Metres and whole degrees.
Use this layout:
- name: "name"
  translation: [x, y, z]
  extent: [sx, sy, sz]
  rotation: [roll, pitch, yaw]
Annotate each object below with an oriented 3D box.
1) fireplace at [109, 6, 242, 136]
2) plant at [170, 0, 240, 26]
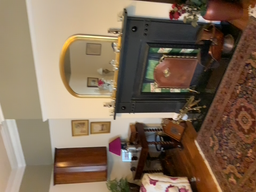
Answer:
- name: "fireplace"
  translation: [0.450, -0.240, 2.780]
  extent: [0.550, 1.240, 1.560]
  rotation: [-104, 18, -51]
- name: "plant"
  translation: [0.820, -0.970, 2.310]
  extent: [0.270, 0.610, 0.280]
  rotation: [-104, 18, -51]
